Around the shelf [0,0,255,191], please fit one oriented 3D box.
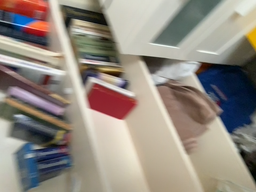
[{"bbox_3d":[-0.140,0.080,0.750,0.280,2.100,1.150,-45,58,44],"label":"shelf"}]
